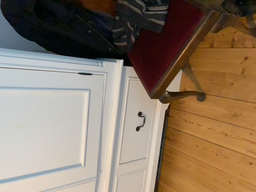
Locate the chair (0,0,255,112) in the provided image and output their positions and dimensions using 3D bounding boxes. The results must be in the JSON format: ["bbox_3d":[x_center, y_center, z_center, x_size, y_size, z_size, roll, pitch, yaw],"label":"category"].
[{"bbox_3d":[0.030,-0.320,0.990,0.520,1.050,0.540,-57,49,33],"label":"chair"}]
